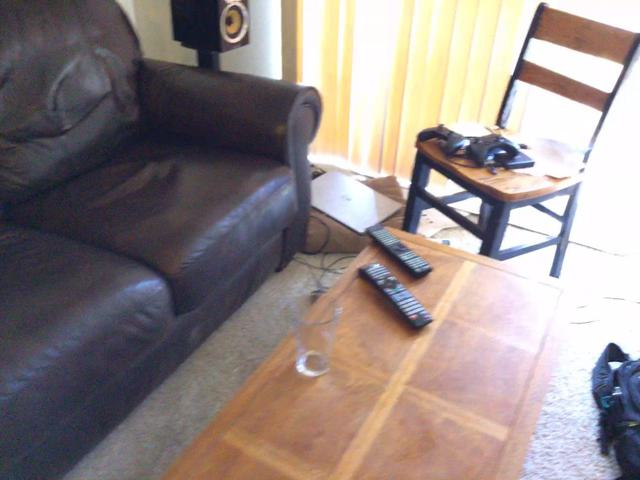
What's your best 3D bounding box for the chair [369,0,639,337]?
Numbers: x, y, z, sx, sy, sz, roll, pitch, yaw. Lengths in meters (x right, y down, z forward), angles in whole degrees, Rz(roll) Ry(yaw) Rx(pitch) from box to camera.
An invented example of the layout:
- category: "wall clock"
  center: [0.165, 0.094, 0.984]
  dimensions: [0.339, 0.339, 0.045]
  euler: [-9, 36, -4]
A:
- category: "chair"
  center: [0.590, -0.270, 1.880]
  dimensions: [0.570, 0.890, 0.560]
  euler: [-12, 32, -25]
